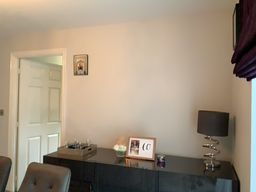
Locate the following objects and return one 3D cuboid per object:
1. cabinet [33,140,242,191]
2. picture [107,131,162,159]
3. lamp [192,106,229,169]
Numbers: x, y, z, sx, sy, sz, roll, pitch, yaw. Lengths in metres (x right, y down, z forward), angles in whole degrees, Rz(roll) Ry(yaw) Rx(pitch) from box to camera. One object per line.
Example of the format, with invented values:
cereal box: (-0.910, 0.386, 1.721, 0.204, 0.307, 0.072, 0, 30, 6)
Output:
cabinet: (0.030, 0.980, 2.100, 1.840, 0.800, 0.620, 2, 0, 19)
picture: (0.080, 0.490, 2.190, 0.480, 0.180, 0.350, 2, -1, 17)
lamp: (0.750, 0.350, 1.940, 0.280, 0.490, 0.340, 1, -1, 22)
